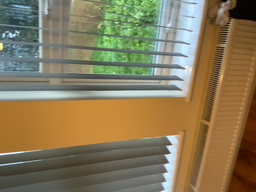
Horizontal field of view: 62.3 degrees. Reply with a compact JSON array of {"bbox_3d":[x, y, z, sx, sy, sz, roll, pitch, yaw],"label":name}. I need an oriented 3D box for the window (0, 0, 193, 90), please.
[{"bbox_3d":[-0.380,-0.490,1.220,0.060,1.750,0.930,-143,56,-61],"label":"window"}]

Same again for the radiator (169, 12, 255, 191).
[{"bbox_3d":[0.650,0.270,1.540,0.180,0.530,1.570,-143,56,-61],"label":"radiator"}]
